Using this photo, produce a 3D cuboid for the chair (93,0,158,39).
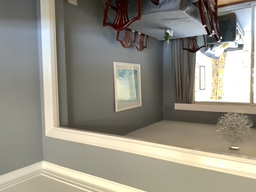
[{"bbox_3d":[-0.010,-1.210,2.390,0.510,0.960,0.590,2,-175,30],"label":"chair"}]
